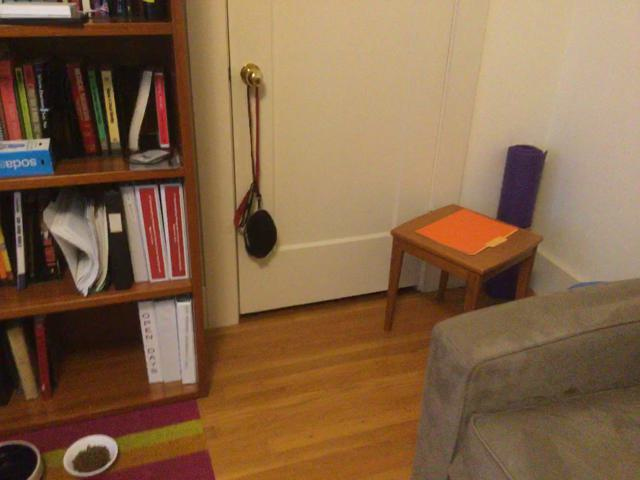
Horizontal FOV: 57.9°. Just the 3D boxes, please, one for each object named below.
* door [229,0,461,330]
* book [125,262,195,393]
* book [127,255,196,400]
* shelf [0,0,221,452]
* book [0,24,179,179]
[{"bbox_3d":[0.090,-0.620,1.780,0.730,1.970,0.070,-8,29,-20],"label":"door"},{"bbox_3d":[-0.490,0.260,1.770,0.150,0.280,0.260,-8,29,-20],"label":"book"},{"bbox_3d":[-0.490,0.260,1.780,0.140,0.300,0.310,-8,29,-20],"label":"book"},{"bbox_3d":[-0.710,-0.370,1.370,0.790,1.860,0.390,-8,29,-20],"label":"shelf"},{"bbox_3d":[-0.720,-0.350,1.440,0.670,0.320,0.220,-8,29,-20],"label":"book"}]
